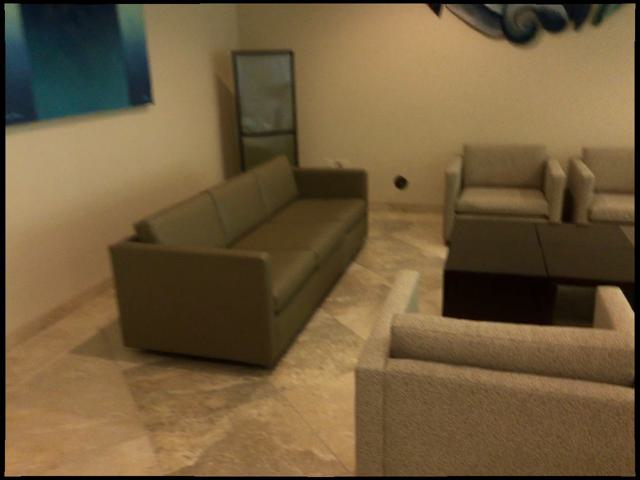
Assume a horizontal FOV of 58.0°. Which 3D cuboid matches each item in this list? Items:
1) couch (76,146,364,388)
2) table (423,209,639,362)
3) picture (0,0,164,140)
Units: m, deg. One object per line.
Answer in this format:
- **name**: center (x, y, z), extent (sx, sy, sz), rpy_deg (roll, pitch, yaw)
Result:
- **couch**: center (-0.399, -0.040, 3.760), extent (0.978, 0.721, 2.270), rpy_deg (5, 20, 13)
- **table**: center (1.208, 0.200, 3.410), extent (1.088, 0.431, 1.040), rpy_deg (5, 20, 13)
- **picture**: center (-1.447, -1.333, 3.460), extent (0.150, 1.212, 1.590), rpy_deg (5, 19, 13)
